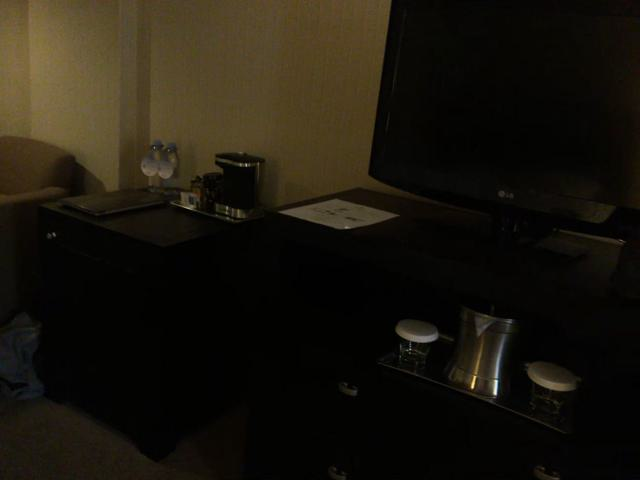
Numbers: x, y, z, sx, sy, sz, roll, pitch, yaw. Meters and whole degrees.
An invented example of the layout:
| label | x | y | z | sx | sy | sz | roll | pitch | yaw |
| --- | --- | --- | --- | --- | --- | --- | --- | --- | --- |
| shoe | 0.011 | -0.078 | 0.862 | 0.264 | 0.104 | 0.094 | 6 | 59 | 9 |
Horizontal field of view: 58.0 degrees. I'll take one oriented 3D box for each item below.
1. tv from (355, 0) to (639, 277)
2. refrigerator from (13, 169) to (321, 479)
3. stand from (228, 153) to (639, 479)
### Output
| label | x | y | z | sx | sy | sz | roll | pitch | yaw |
| --- | --- | --- | --- | --- | --- | --- | --- | --- | --- |
| tv | 0.500 | -0.290 | 1.430 | 0.770 | 0.570 | 0.160 | 17 | 19 | 28 |
| refrigerator | -0.580 | 0.240 | 2.200 | 0.860 | 0.810 | 0.660 | 17 | 19 | 28 |
| stand | 0.410 | 0.420 | 1.550 | 1.130 | 1.070 | 0.600 | 17 | 19 | 28 |
